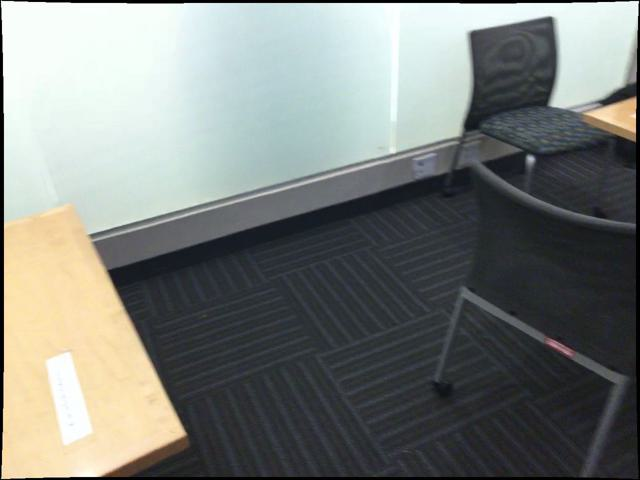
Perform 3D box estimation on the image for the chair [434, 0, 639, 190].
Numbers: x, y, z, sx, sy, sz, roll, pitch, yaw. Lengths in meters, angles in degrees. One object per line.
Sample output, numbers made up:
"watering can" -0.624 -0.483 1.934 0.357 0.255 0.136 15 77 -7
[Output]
"chair" 0.878 -0.632 2.380 0.499 0.521 0.630 -23 37 -23
